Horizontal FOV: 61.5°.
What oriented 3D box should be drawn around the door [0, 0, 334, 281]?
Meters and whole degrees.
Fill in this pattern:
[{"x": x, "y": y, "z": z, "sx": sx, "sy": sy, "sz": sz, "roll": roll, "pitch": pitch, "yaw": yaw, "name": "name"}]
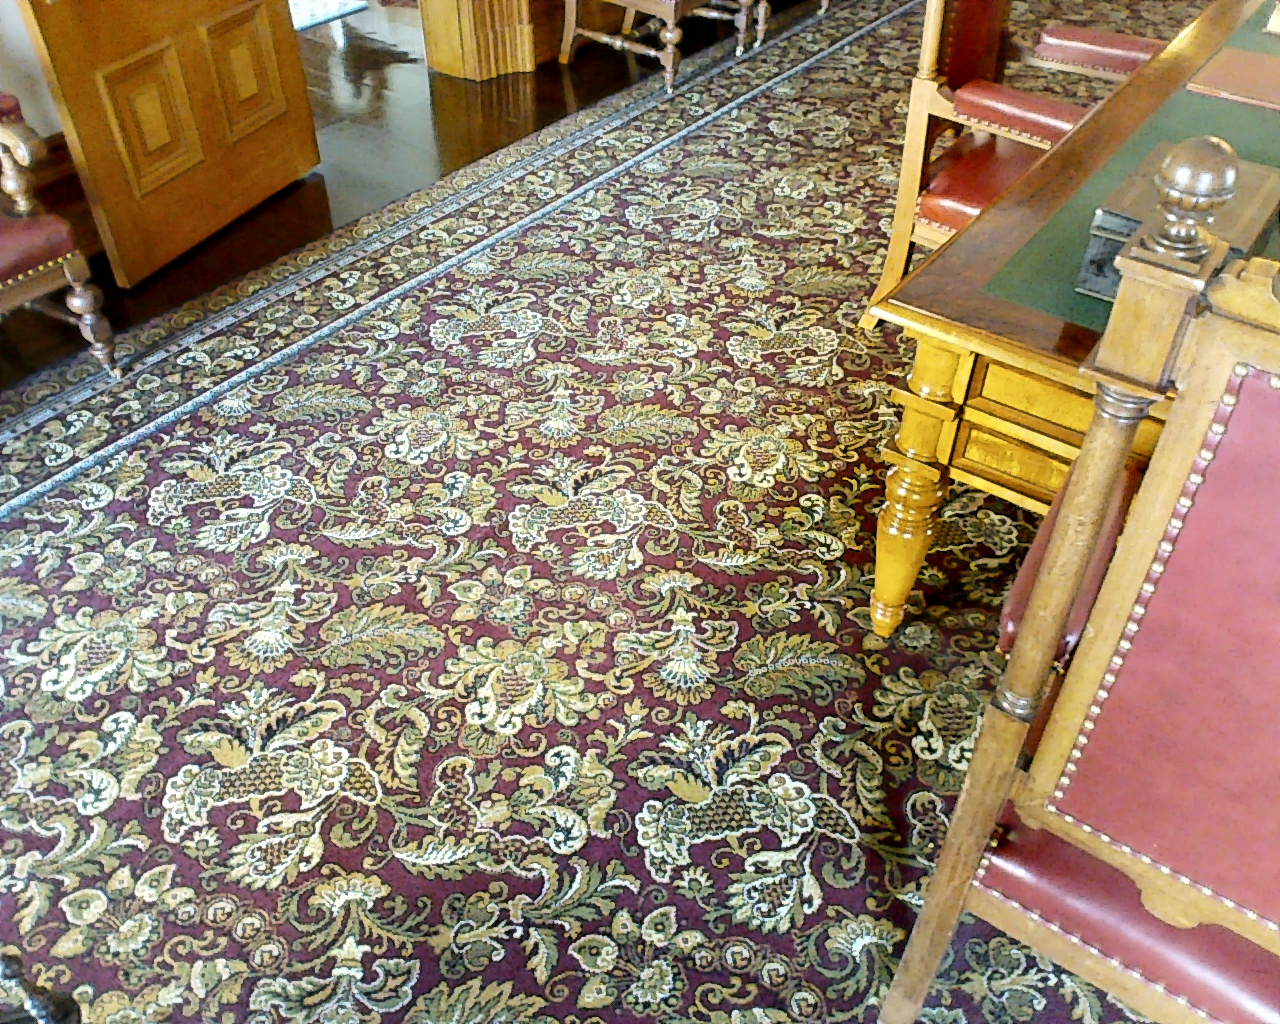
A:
[{"x": -1.310, "y": -1.820, "z": 2.580, "sx": 0.200, "sy": 2.300, "sz": 0.970, "roll": 16, "pitch": 45, "yaw": 16, "name": "door"}]
